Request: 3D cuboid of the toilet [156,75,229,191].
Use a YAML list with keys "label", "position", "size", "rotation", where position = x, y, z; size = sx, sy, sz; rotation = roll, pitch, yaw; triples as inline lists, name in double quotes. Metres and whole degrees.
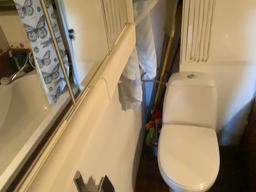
- label: "toilet"
  position: [0.370, 0.310, 1.390]
  size: [0.320, 0.700, 0.560]
  rotation: [1, 38, 11]
